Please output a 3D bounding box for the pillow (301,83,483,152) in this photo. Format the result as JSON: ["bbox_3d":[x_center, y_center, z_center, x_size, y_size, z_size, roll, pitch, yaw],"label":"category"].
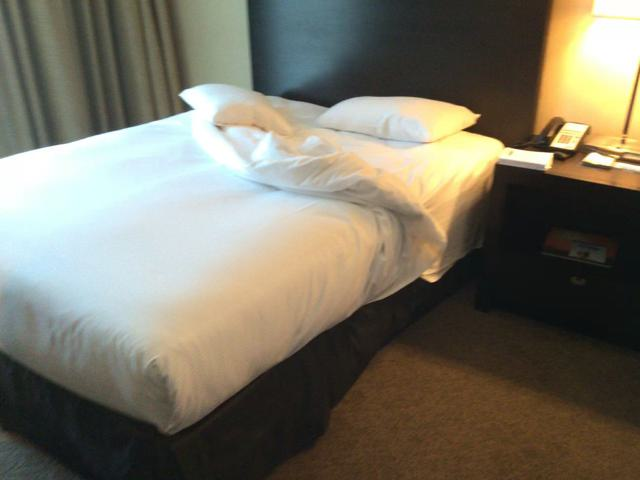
[{"bbox_3d":[0.320,-0.580,2.650,0.700,0.160,0.420,17,29,33],"label":"pillow"}]

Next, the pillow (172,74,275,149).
[{"bbox_3d":[-0.460,-0.610,2.640,0.370,0.180,0.710,-7,25,-14],"label":"pillow"}]
